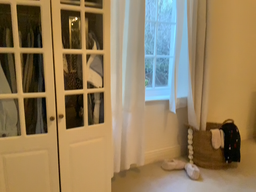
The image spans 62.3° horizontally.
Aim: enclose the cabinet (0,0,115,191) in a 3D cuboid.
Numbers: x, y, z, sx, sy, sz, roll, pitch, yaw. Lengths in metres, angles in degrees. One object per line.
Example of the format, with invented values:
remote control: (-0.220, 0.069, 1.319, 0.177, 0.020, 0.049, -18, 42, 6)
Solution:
cabinet: (-0.890, -0.190, 1.300, 1.540, 2.210, 0.490, -5, 13, -25)
